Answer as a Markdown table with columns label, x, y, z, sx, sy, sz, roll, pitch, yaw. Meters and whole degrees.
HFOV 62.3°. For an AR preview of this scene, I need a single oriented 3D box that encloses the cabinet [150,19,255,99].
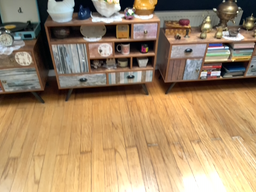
| label | x | y | z | sx | sy | sz | roll | pitch | yaw |
| --- | --- | --- | --- | --- | --- | --- | --- | --- | --- |
| cabinet | 0.950 | -0.440 | 2.390 | 1.240 | 0.620 | 0.590 | -4 | 38 | -7 |
